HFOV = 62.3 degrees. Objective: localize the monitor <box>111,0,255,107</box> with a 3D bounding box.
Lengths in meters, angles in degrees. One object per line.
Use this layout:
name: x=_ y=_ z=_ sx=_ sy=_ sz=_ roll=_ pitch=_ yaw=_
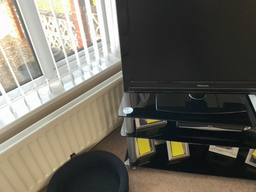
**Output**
monitor: x=0.420 y=-0.210 z=0.980 sx=0.960 sy=0.620 sz=0.050 roll=1 pitch=37 yaw=6
